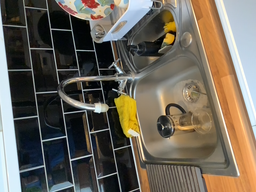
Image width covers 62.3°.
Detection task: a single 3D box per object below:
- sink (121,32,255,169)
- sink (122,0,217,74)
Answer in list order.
[{"bbox_3d":[0.210,0.050,0.870,0.480,0.200,0.410,-25,74,57],"label":"sink"},{"bbox_3d":[0.140,-0.240,0.870,0.370,0.140,0.190,-25,74,57],"label":"sink"}]
